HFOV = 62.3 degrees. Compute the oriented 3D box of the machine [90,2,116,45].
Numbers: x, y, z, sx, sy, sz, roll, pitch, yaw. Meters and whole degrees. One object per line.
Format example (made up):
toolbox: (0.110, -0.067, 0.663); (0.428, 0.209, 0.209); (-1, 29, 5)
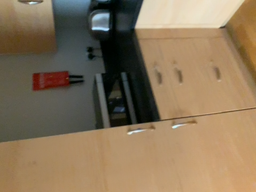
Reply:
machine: (-0.240, -0.670, 1.980); (0.280, 0.180, 0.250); (112, 148, -58)
